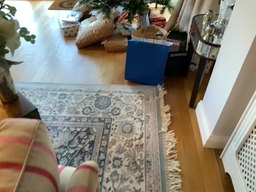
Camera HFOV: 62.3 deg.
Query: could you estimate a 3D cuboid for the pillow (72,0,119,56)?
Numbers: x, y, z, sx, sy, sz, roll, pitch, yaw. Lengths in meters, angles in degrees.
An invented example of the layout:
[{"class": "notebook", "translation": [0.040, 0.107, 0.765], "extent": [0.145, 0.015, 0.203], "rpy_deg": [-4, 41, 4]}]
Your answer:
[{"class": "pillow", "translation": [-0.390, -0.790, 2.490], "extent": [0.240, 0.450, 0.490], "rpy_deg": [-45, 41, 35]}]
